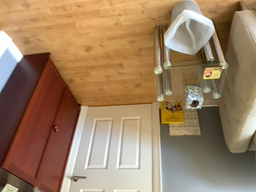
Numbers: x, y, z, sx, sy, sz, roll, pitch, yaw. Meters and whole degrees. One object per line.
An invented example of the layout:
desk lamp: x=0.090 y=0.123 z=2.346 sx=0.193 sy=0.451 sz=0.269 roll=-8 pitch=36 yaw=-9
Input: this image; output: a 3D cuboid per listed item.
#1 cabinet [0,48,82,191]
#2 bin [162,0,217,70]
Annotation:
cabinet: x=-0.810 y=0.240 z=1.920 sx=0.330 sy=1.050 sz=0.810 roll=-4 pitch=141 yaw=10
bin: x=0.410 y=-0.480 z=1.480 sx=0.290 sy=0.460 sz=0.330 roll=-6 pitch=141 yaw=13
